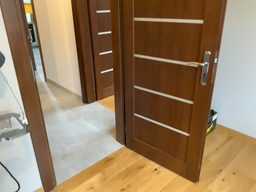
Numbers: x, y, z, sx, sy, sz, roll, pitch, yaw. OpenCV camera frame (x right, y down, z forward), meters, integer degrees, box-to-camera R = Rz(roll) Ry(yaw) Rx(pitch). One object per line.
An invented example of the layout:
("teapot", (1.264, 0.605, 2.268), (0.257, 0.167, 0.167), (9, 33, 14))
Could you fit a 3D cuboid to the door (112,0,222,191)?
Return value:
("door", (0.220, -0.230, 1.690), (0.840, 2.100, 0.130), (22, 32, 40))
